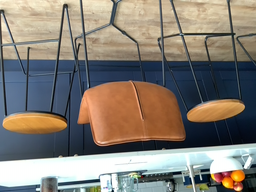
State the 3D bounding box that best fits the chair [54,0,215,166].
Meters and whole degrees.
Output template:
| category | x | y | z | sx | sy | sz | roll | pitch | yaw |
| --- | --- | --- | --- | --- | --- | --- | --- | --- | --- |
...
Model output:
| category | x | y | z | sx | sy | sz | roll | pitch | yaw |
| --- | --- | --- | --- | --- | --- | --- | --- | --- | --- |
| chair | -0.050 | -0.130 | 1.260 | 0.610 | 0.920 | 0.640 | -2 | 156 | -10 |
